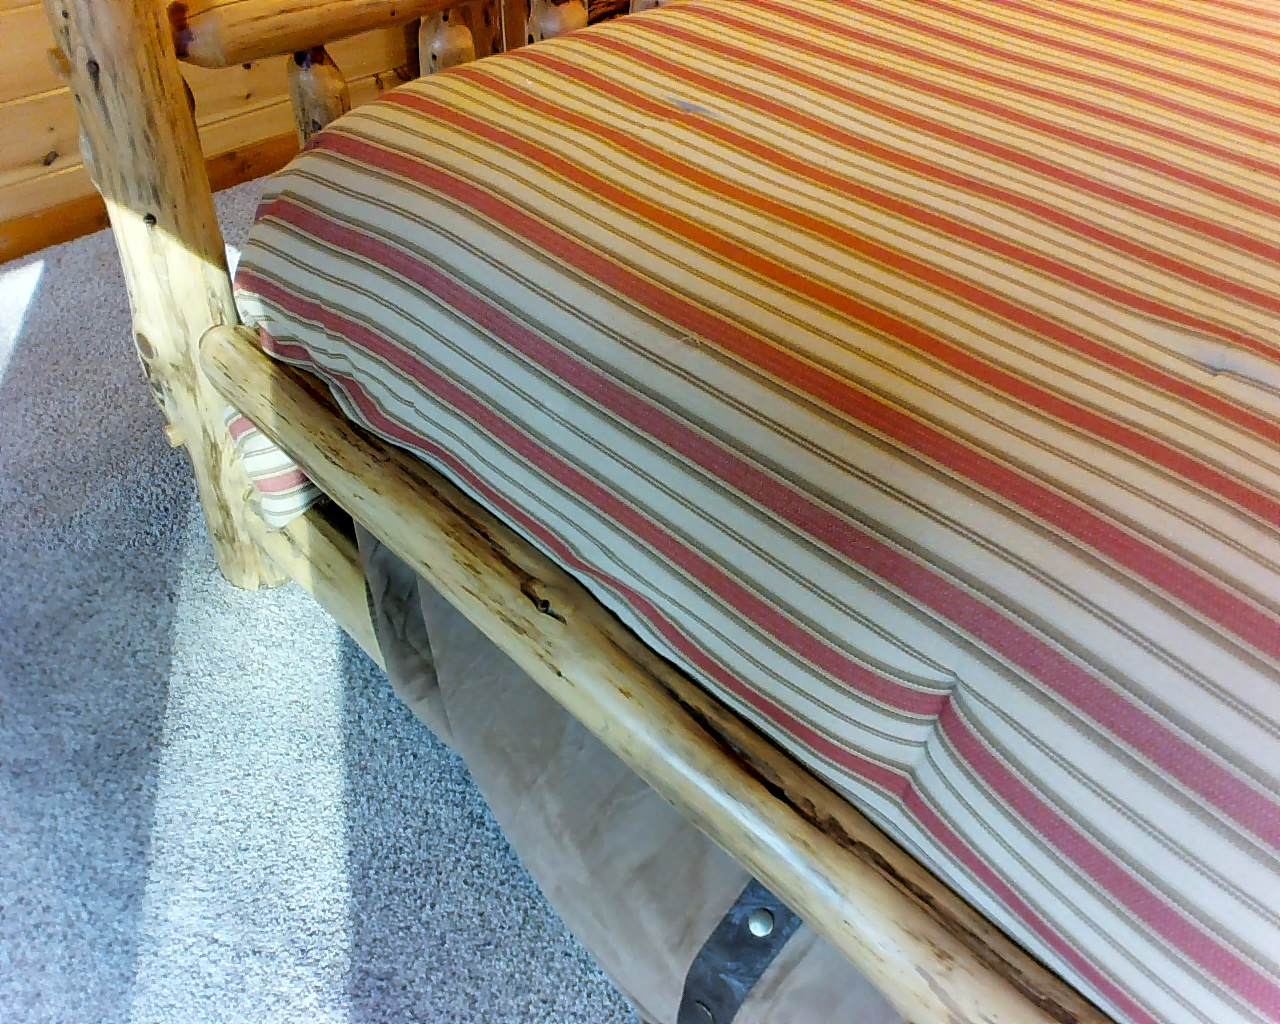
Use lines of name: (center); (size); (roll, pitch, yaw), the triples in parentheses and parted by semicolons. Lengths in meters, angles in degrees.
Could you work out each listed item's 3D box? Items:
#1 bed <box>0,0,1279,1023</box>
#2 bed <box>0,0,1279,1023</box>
bed: (0.690, -0.160, 1.310); (2.300, 0.920, 2.030); (33, 51, 31)
bed: (0.800, -0.130, 1.260); (2.480, 0.910, 1.850); (33, 51, 31)
